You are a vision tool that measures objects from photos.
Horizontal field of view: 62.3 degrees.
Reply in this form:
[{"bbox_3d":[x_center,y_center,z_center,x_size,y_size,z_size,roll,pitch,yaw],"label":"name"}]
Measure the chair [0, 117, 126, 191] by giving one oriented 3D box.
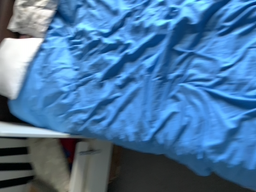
[{"bbox_3d":[-0.650,0.800,1.420,0.710,0.870,1.220,3,83,42],"label":"chair"}]
